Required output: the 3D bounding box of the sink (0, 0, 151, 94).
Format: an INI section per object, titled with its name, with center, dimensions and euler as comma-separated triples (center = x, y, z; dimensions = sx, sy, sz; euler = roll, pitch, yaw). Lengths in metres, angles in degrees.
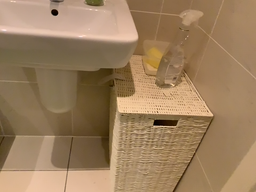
[sink]
center = -0.260, -0.220, 0.730
dimensions = 0.570, 0.190, 0.430
euler = 2, 37, -10
